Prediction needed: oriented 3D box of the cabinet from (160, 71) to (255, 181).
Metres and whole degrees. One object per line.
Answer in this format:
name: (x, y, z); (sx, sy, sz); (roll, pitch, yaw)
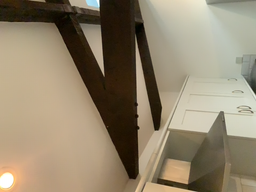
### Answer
cabinet: (0.960, 0.100, 2.400); (1.990, 0.800, 0.360); (-42, -47, -63)
